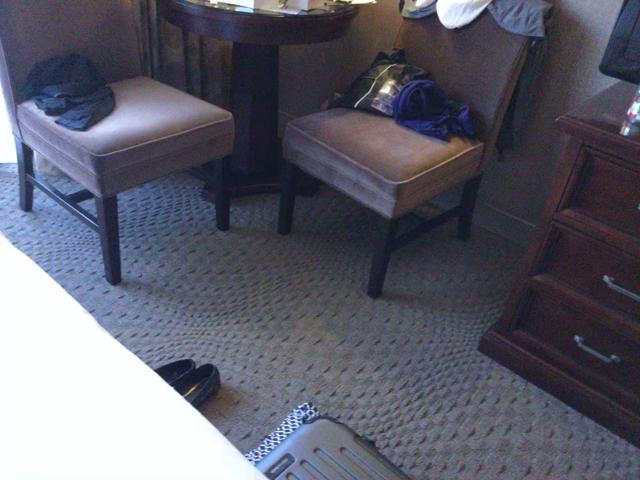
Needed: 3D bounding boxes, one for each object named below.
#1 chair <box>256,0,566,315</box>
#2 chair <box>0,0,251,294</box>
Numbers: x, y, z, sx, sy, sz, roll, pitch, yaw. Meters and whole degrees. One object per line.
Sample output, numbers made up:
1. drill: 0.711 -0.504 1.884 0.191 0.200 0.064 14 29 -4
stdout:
1. chair: 0.270 -0.400 2.010 0.660 0.900 0.710 28 39 33
2. chair: -0.710 -0.520 1.930 0.770 1.020 0.580 28 39 32
